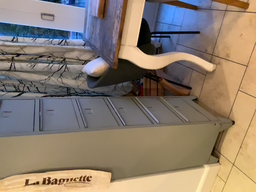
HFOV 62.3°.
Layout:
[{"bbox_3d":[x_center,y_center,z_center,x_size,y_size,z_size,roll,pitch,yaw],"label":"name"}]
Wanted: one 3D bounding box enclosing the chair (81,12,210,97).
[{"bbox_3d":[0.100,-0.340,1.750,0.550,0.820,0.520,-137,53,-59],"label":"chair"}]
